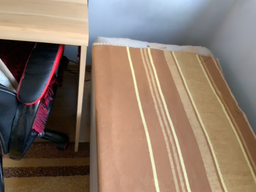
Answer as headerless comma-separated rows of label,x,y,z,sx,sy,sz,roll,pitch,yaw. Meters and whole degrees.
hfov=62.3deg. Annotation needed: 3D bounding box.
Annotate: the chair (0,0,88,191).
chair,-0.530,-0.150,0.690,0.680,1.160,0.730,9,50,-9
